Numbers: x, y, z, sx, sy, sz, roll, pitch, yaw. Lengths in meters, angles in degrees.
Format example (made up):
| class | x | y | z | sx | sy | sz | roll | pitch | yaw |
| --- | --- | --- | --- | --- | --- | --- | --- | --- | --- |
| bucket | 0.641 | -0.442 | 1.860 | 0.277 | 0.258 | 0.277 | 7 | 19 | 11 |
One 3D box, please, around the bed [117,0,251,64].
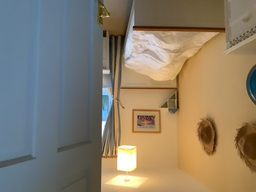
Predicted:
| class | x | y | z | sx | sy | sz | roll | pitch | yaw |
| --- | --- | --- | --- | --- | --- | --- | --- | --- | --- |
| bed | 0.450 | -0.950 | 2.890 | 1.080 | 0.550 | 2.090 | 0 | 176 | -6 |
